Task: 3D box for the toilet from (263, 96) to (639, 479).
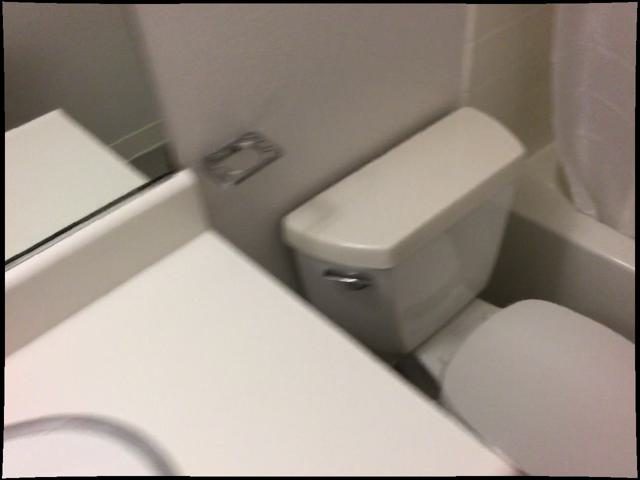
[{"bbox_3d":[0.369,0.241,1.130,0.510,0.681,0.720,-36,50,-25],"label":"toilet"}]
